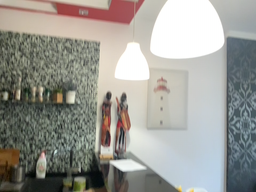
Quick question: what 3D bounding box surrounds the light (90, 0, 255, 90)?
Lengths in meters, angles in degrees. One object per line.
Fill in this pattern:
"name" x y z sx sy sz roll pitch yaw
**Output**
"light" 0.260 -0.560 1.000 0.570 0.490 0.910 17 -99 -20
